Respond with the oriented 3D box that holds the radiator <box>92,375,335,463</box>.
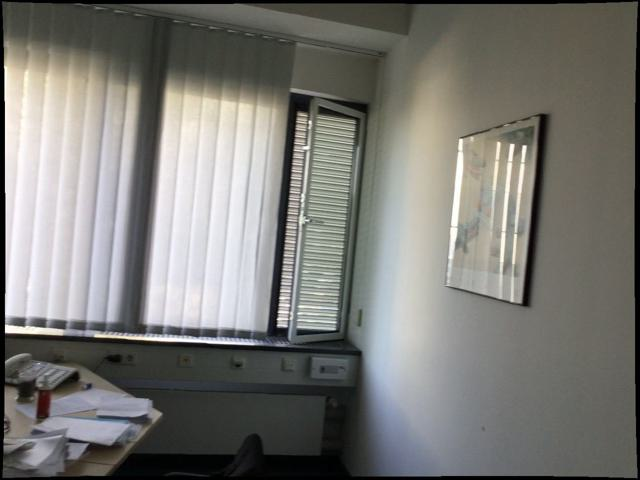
[{"bbox_3d":[-0.639,1.101,3.620,1.429,0.440,0.230,3,3,-13],"label":"radiator"}]
